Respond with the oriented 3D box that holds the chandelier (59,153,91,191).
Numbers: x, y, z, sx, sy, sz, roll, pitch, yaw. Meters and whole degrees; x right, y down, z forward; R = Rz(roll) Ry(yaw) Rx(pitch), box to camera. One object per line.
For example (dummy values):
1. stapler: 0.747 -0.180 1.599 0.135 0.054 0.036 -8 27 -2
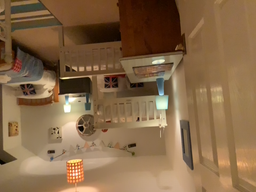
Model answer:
1. chandelier: -0.710 1.060 2.930 0.300 0.410 0.510 -4 -4 -1
